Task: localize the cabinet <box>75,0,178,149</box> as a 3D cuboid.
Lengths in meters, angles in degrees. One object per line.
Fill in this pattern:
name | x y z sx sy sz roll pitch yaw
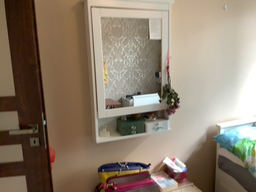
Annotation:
cabinet | 0.010 -0.190 1.540 0.690 1.030 0.170 -5 11 -20
